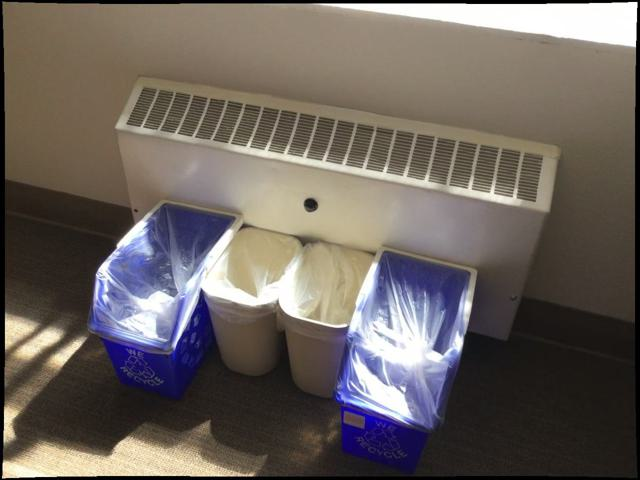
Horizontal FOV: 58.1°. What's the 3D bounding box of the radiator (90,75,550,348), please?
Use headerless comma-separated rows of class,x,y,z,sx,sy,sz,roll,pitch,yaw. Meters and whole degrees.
radiator,-0.030,-0.090,1.620,1.157,0.541,0.190,12,40,14
